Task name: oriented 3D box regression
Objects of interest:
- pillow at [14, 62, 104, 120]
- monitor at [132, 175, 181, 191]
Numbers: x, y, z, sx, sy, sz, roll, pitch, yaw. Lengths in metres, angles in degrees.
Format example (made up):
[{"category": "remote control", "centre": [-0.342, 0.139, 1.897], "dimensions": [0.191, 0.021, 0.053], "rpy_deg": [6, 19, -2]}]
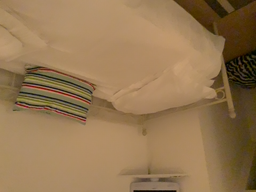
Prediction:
[{"category": "pillow", "centre": [-0.510, -0.010, 1.620], "dimensions": [0.590, 0.280, 0.230], "rpy_deg": [11, 144, -43]}, {"category": "monitor", "centre": [0.270, 0.960, 2.010], "dimensions": [0.460, 0.380, 0.030], "rpy_deg": [-5, 160, 9]}]
